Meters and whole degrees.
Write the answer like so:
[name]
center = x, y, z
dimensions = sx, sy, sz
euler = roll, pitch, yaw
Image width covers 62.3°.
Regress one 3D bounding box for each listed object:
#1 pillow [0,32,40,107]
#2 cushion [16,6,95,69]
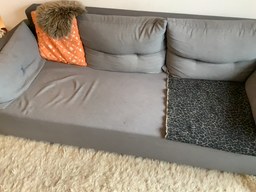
[pillow]
center = -0.850, -0.220, 1.580
dimensions = 0.140, 0.260, 0.590
euler = 20, 36, -13
[cushion]
center = -0.580, -0.500, 1.810
dimensions = 0.500, 0.390, 0.270
euler = 7, 45, 7
